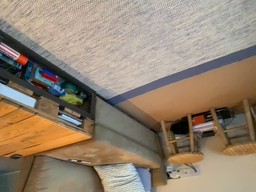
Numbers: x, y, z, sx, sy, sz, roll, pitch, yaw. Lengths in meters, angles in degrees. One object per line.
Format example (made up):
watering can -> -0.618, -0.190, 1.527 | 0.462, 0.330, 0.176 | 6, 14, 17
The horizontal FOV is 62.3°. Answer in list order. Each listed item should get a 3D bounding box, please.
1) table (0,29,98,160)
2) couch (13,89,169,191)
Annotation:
table -> -0.860, 0.110, 1.530 | 0.950, 0.400, 0.820 | -19, 146, 27
couch -> -0.270, 0.680, 2.090 | 0.890, 0.860, 1.160 | -19, 146, 27
